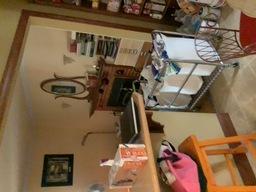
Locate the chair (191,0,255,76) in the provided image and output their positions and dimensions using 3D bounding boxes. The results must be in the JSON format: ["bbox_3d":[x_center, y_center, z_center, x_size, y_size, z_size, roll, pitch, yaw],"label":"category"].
[{"bbox_3d":[0.900,-0.440,1.330,0.460,0.760,0.440,114,154,-51],"label":"chair"}]

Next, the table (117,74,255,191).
[{"bbox_3d":[0.570,0.670,1.700,0.680,1.080,1.510,115,154,-52],"label":"table"}]

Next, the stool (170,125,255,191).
[{"bbox_3d":[0.790,0.530,1.610,0.430,0.730,0.460,115,153,-52],"label":"stool"}]
